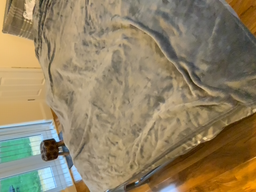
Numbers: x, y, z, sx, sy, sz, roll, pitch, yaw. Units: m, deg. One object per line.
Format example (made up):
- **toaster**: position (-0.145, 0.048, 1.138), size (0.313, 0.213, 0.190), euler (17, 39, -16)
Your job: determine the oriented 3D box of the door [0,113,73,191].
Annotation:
- **door**: position (-1.910, 0.850, 2.790), size (0.150, 2.130, 1.120), euler (-50, 57, 40)
